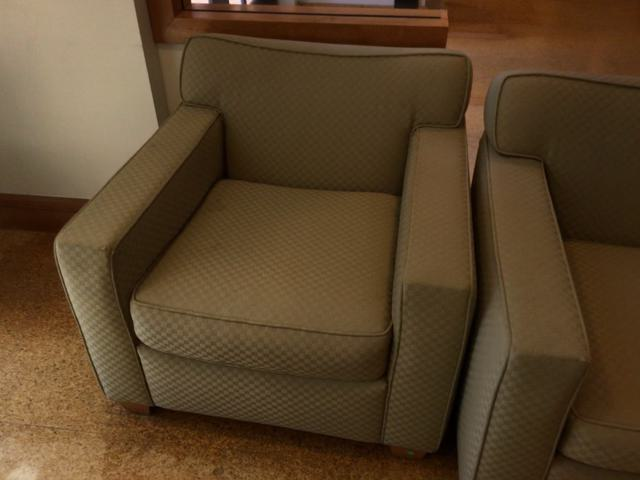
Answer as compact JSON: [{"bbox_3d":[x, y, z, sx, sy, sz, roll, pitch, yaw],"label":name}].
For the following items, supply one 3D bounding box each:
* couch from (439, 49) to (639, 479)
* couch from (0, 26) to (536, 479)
[{"bbox_3d":[0.750,0.110,1.280,0.860,0.780,0.890,3,35,7],"label":"couch"},{"bbox_3d":[-0.060,-0.030,1.490,0.910,0.780,0.860,3,35,7],"label":"couch"}]
